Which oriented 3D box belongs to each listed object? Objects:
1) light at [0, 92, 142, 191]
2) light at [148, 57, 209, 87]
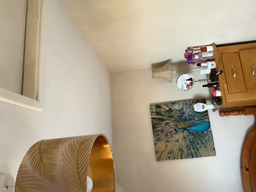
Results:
[{"bbox_3d":[-0.220,0.310,0.680,0.360,0.380,0.410,46,-159,-17],"label":"light"},{"bbox_3d":[0.550,-0.260,2.390,0.320,0.610,0.260,-26,-69,-82],"label":"light"}]
